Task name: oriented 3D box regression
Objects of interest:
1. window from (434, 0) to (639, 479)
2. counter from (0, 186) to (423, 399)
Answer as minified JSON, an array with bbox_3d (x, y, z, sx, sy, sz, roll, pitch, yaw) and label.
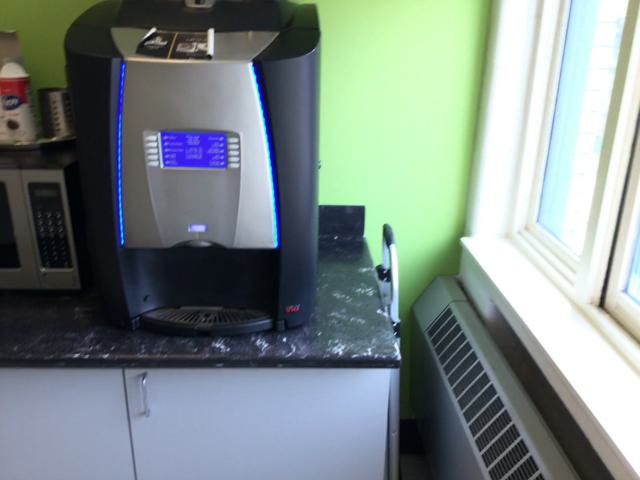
[{"bbox_3d":[0.640,-0.080,0.780,0.320,0.930,2.040,1,20,-5],"label":"window"},{"bbox_3d":[-0.720,0.080,1.470,1.790,0.230,0.760,1,20,-5],"label":"counter"}]
